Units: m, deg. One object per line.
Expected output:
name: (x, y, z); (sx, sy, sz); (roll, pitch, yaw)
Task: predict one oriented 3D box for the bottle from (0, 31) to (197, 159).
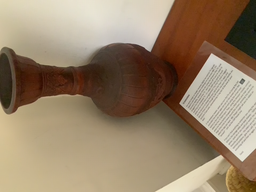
bottle: (-0.050, -0.020, 0.530); (0.170, 0.460, 0.160); (44, 123, 35)
